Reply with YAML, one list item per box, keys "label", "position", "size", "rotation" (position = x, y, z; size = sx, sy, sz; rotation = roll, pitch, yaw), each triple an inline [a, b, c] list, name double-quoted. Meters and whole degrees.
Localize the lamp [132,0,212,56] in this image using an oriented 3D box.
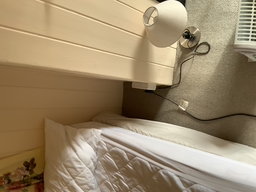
- label: "lamp"
  position: [0.270, -0.380, 1.220]
  size: [0.230, 0.450, 0.220]
  rotation: [7, 94, 43]
